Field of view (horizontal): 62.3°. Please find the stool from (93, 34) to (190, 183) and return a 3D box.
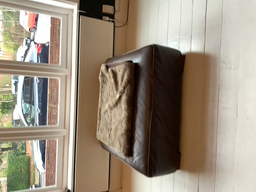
[{"bbox_3d":[0.040,0.070,2.050,1.070,0.380,1.050,6,95,60],"label":"stool"}]
